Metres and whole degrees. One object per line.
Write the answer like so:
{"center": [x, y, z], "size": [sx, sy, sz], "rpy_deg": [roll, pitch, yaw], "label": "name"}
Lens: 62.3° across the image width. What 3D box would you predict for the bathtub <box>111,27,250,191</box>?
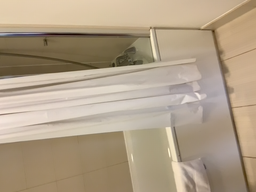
{"center": [0.380, 0.470, 1.630], "size": [0.700, 0.540, 1.750], "rpy_deg": [-20, 79, 63], "label": "bathtub"}
